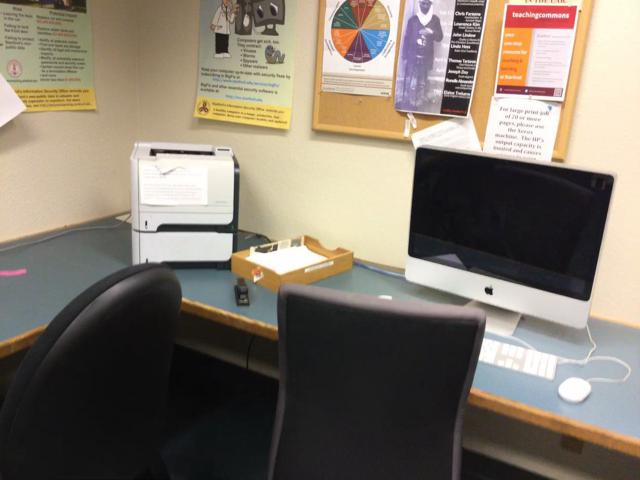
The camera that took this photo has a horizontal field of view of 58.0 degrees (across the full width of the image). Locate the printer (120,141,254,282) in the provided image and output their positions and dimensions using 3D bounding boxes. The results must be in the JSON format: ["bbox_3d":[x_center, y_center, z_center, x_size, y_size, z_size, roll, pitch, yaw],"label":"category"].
[{"bbox_3d":[-0.470,-0.120,2.090,0.410,0.400,0.480,0,16,-12],"label":"printer"}]
